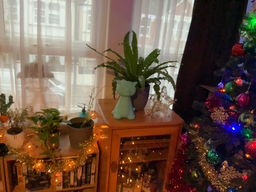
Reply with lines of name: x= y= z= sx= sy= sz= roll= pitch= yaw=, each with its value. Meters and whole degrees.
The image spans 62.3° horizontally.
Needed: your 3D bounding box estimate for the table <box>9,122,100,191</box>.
table: x=-0.550 y=0.600 z=1.670 sx=0.570 sy=0.680 sz=0.370 roll=1 pitch=19 yaw=-16
